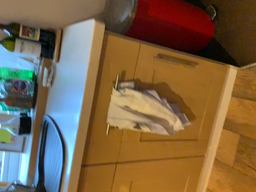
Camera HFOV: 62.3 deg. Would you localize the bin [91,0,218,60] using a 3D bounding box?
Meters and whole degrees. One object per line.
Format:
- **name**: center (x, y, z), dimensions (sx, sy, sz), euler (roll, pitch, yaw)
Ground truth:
- **bin**: center (0.170, -0.460, 1.310), dimensions (0.320, 0.670, 0.340), euler (21, 103, 57)
